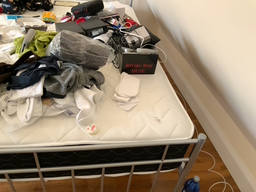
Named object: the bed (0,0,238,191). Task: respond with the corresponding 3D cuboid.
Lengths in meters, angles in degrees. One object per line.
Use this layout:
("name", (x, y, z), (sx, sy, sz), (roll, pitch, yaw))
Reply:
("bed", (-0.500, -0.220, 1.690), (1.560, 0.580, 2.010), (-1, 39, -12))
